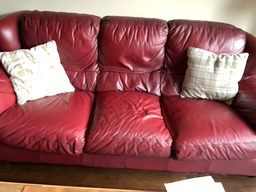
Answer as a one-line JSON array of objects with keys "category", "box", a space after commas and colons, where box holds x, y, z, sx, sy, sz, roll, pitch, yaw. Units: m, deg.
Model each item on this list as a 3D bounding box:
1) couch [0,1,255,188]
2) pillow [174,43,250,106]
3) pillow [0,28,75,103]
[{"category": "couch", "box": [0.000, -0.070, 1.670, 2.180, 0.940, 1.030, 4, 31, -3]}, {"category": "pillow", "box": [0.620, -0.170, 1.660, 0.420, 0.390, 0.230, 6, 31, 0]}, {"category": "pillow", "box": [-0.700, -0.200, 1.640, 0.450, 0.460, 0.260, 9, -6, -43]}]
